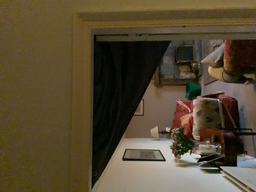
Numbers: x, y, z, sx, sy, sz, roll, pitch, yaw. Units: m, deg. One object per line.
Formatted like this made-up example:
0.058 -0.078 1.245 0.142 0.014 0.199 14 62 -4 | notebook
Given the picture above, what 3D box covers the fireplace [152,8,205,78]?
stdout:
1.370 -1.440 5.980 0.770 1.280 1.760 69 -159 -85 | fireplace
